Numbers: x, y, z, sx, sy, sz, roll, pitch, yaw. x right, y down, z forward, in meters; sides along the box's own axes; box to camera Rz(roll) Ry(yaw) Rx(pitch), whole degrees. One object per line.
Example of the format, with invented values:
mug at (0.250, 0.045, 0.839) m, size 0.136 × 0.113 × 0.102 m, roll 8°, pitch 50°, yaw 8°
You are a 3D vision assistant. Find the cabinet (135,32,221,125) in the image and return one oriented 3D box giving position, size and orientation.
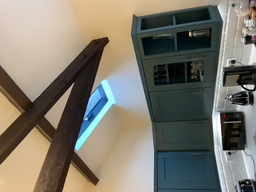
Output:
cabinet at (0.620, -0.130, 2.640) m, size 1.170 × 0.830 × 0.360 m, roll 72°, pitch -161°, yaw -47°
